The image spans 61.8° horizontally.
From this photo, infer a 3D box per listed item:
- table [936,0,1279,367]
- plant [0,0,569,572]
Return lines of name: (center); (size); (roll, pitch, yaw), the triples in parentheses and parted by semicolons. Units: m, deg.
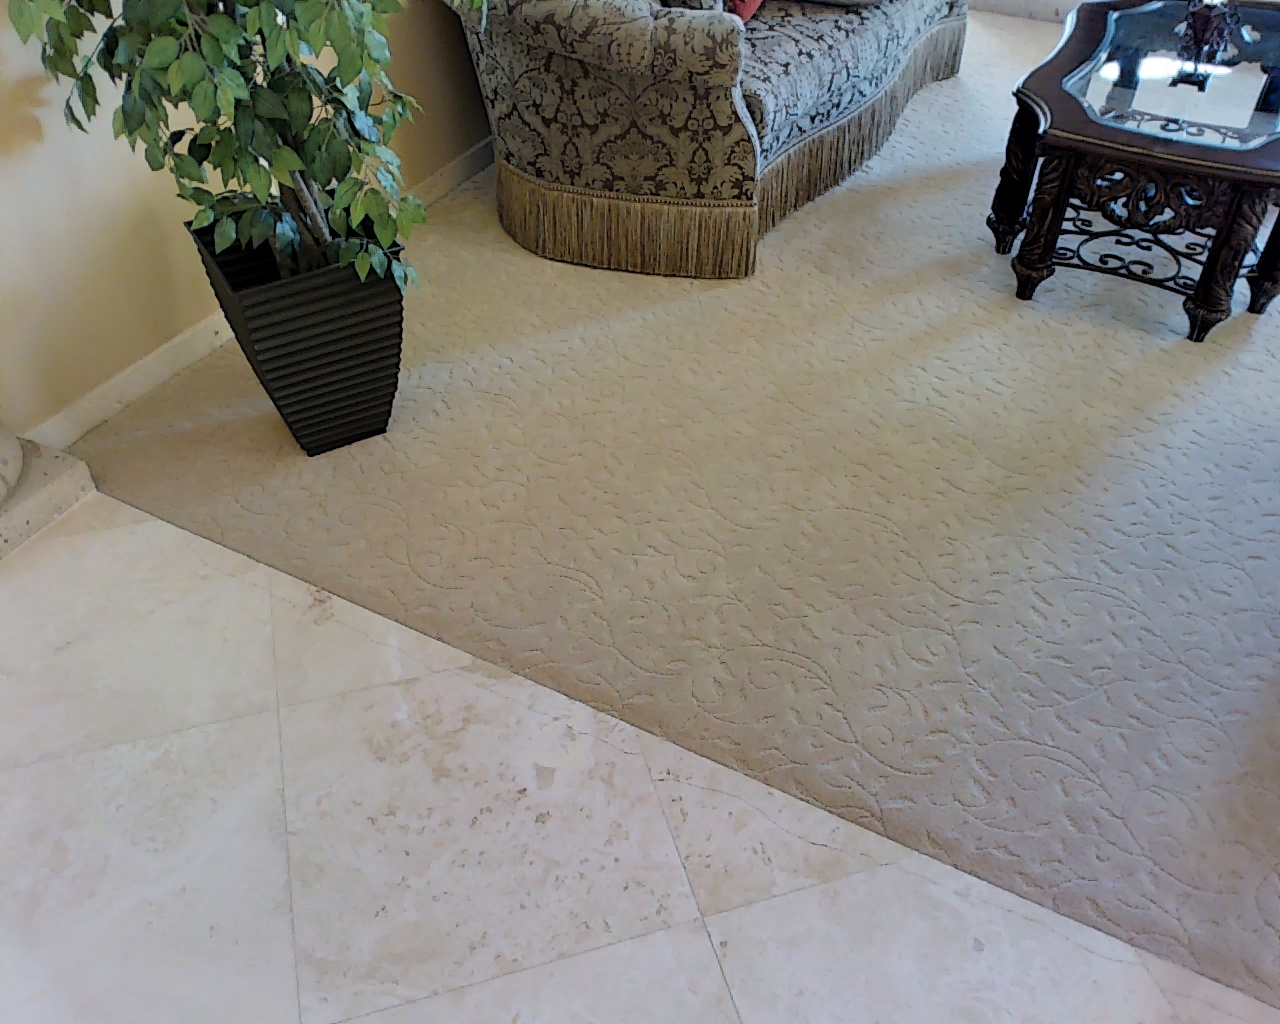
table: (1.651, -1.130, 3.190); (1.020, 0.520, 1.480); (21, 46, 20)
plant: (-0.750, -1.180, 1.850); (0.960, 2.369, 1.050); (-11, 44, -13)
